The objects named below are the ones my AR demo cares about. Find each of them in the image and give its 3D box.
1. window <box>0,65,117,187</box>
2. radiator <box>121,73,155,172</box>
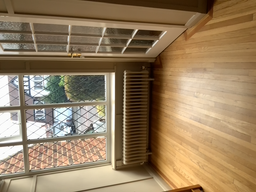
[{"bbox_3d":[-1.110,0.380,3.140,0.190,1.900,1.650,-165,74,-69],"label":"window"},{"bbox_3d":[0.150,0.390,3.270,0.160,0.490,1.490,-165,74,-69],"label":"radiator"}]
